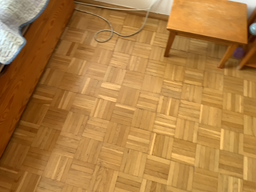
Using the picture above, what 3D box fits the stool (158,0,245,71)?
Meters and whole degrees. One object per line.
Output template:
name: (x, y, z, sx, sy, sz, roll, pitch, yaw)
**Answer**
stool: (0.410, -0.390, 1.220, 0.380, 0.260, 0.330, 13, 63, 5)
